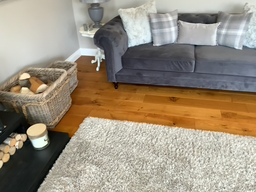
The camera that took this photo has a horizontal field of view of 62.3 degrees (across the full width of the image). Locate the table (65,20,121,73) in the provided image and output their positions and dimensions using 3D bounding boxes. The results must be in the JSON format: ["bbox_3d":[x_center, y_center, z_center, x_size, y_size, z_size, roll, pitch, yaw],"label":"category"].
[{"bbox_3d":[-0.490,-0.770,3.220,0.590,0.570,0.620,7,34,13],"label":"table"}]

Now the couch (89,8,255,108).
[{"bbox_3d":[0.770,-0.570,2.650,2.140,0.750,1.110,7,34,13],"label":"couch"}]
